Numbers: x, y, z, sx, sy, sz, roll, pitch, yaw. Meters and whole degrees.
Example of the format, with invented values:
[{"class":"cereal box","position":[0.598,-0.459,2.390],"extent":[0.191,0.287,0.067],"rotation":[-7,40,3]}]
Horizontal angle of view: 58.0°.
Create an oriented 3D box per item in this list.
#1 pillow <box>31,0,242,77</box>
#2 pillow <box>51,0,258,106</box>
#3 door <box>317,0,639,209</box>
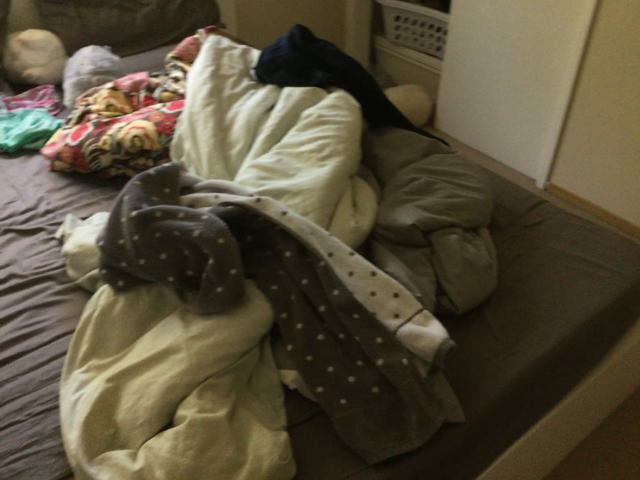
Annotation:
[{"class":"pillow","position":[-0.650,-0.880,2.090],"extent":[0.680,0.350,0.240],"rotation":[-27,45,-30]},{"class":"pillow","position":[-0.580,-0.710,2.110],"extent":[0.660,0.180,0.260],"rotation":[-27,45,-30]},{"class":"door","position":[0.540,-1.320,2.040],"extent":[0.340,2.080,1.350],"rotation":[-27,45,-30]}]
